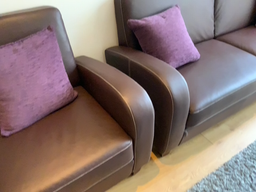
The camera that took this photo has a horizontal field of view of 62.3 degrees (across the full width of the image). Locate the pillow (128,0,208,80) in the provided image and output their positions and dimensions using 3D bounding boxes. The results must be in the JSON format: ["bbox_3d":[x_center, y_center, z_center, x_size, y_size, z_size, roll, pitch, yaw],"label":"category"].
[{"bbox_3d":[0.260,-0.350,1.340,0.320,0.360,0.210,-51,47,8],"label":"pillow"}]

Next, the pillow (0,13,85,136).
[{"bbox_3d":[-0.480,-0.090,0.980,0.190,0.360,0.390,31,74,40],"label":"pillow"}]
